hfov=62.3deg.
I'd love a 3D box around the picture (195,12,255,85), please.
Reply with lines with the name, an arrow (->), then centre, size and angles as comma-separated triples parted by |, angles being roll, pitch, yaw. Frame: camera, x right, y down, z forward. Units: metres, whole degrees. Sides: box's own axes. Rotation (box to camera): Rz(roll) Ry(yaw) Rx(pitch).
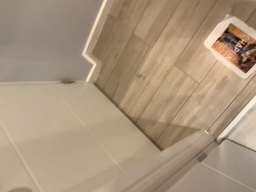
picture -> 0.530, -0.240, 1.070 | 0.310, 0.040, 0.210 | 50, 120, 23
